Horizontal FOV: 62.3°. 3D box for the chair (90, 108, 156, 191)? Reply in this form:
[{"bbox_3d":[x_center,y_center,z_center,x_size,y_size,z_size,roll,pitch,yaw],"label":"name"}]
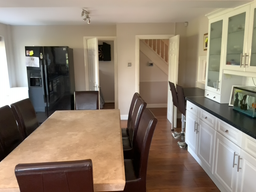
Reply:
[{"bbox_3d":[-0.070,0.660,2.160,0.580,0.970,0.500,-2,10,-8],"label":"chair"}]

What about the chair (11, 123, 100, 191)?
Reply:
[{"bbox_3d":[-0.420,0.780,1.520,0.430,0.990,0.680,-2,10,-7],"label":"chair"}]

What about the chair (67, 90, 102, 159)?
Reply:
[{"bbox_3d":[-0.680,0.430,3.450,0.440,0.970,0.580,-1,10,-4],"label":"chair"}]
